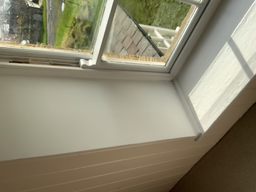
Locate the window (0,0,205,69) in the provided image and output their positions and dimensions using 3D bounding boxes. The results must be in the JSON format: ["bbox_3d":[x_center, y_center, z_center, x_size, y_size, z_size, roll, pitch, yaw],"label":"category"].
[{"bbox_3d":[-0.060,-0.540,0.980,0.120,1.050,0.880,60,139,39],"label":"window"}]
